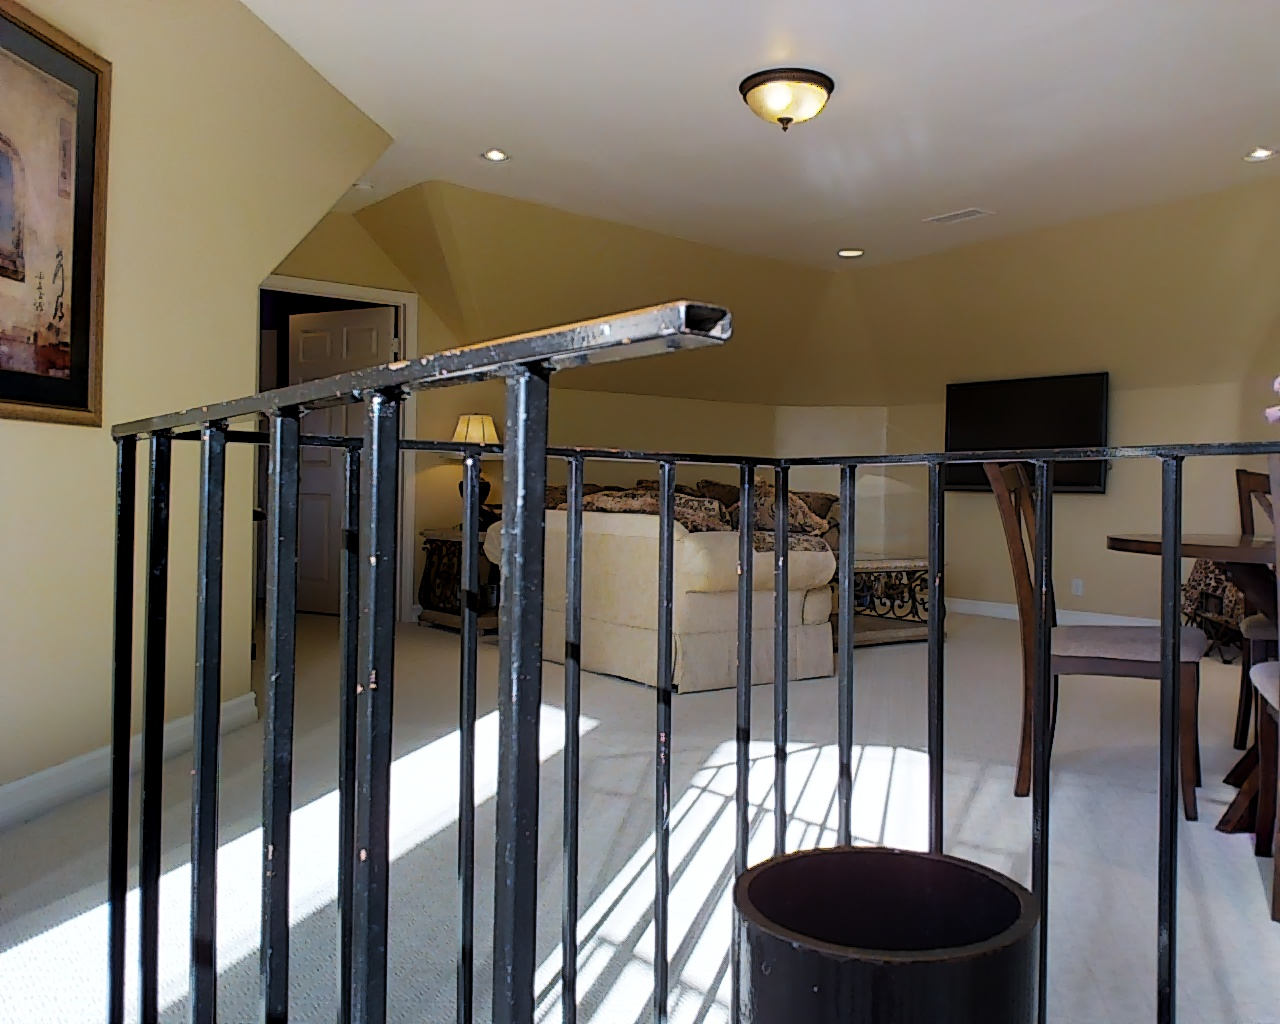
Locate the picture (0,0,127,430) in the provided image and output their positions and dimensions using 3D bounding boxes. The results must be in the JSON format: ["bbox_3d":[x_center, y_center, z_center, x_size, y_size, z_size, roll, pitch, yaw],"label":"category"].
[{"bbox_3d":[-1.510,-0.710,2.580,0.040,0.970,0.810,1,1,8],"label":"picture"}]

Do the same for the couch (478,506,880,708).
[{"bbox_3d":[0.110,0.380,5.330,1.030,0.780,1.880,1,1,-37],"label":"couch"}]
